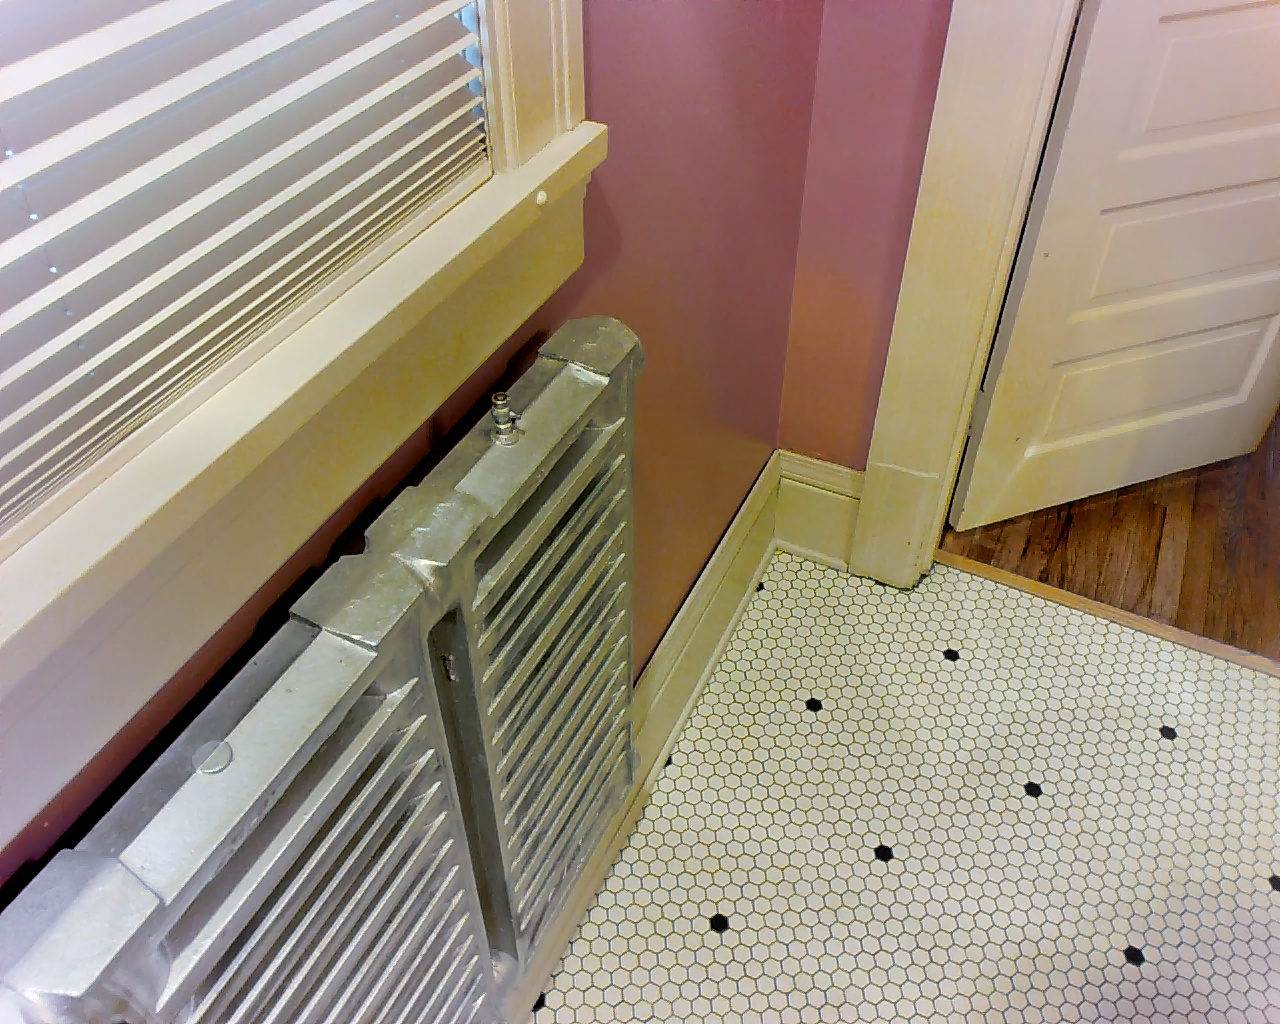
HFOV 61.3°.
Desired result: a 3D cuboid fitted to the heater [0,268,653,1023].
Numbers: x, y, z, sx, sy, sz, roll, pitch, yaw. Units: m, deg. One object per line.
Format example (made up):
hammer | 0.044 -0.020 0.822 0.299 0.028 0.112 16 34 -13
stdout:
heater | -0.280 0.450 0.930 0.110 0.880 1.110 18 46 19
